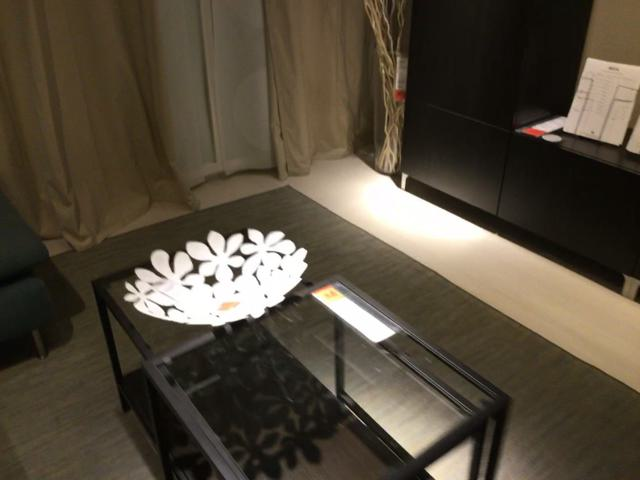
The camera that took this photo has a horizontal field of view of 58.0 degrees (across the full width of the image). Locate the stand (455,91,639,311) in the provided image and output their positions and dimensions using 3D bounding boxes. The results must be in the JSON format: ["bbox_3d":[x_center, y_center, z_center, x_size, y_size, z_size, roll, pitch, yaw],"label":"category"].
[{"bbox_3d":[1.350,0.000,1.840,0.500,0.490,1.970,-20,33,-29],"label":"stand"}]

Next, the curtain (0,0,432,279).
[{"bbox_3d":[-0.450,-0.980,2.510,2.200,1.670,0.380,-20,33,-29],"label":"curtain"}]

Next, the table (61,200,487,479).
[{"bbox_3d":[-0.170,0.370,1.370,0.510,0.540,0.940,-20,33,-29],"label":"table"}]
